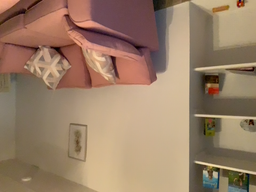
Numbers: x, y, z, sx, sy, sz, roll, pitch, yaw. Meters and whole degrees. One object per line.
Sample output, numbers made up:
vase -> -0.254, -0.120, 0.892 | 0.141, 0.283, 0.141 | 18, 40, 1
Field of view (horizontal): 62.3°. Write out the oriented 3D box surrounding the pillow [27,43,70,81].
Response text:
pillow -> -1.010, -0.420, 2.680 | 0.190, 0.470, 0.440 | 66, -33, 36

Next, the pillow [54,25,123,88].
pillow -> -0.360, -0.410, 2.110 | 0.240, 0.520, 0.470 | -49, -168, 24
